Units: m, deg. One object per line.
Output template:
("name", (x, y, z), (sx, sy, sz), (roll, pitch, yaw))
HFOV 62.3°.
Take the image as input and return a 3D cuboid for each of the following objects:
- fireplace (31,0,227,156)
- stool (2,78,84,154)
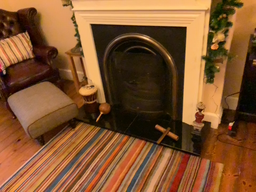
("fireplace", (0.040, -0.280, 1.910), (1.390, 1.230, 0.560), (10, 36, 25))
("stool", (-0.890, 0.160, 2.220), (0.500, 0.370, 0.680), (-30, 38, -32))
